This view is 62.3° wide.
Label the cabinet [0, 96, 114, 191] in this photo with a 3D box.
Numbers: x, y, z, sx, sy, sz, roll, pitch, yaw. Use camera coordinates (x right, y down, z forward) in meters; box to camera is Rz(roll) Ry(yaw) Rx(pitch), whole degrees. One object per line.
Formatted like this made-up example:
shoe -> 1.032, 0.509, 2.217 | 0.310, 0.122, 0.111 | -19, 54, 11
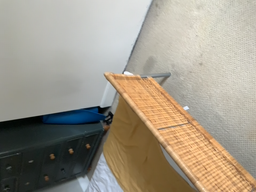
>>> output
cabinet -> -0.980, 0.630, 2.590 | 0.490, 1.230, 1.130 | 53, 133, 31
